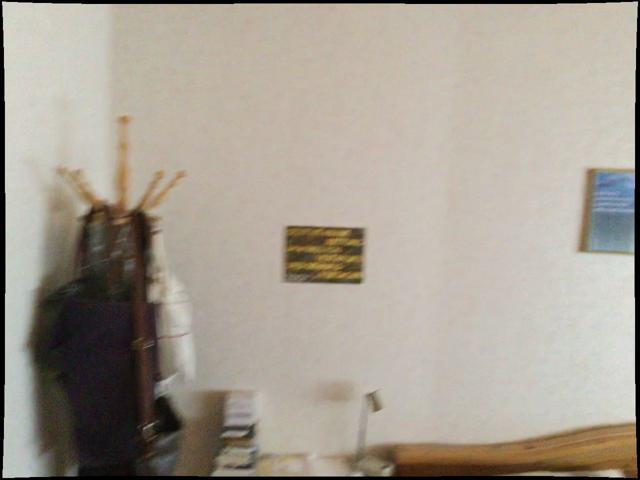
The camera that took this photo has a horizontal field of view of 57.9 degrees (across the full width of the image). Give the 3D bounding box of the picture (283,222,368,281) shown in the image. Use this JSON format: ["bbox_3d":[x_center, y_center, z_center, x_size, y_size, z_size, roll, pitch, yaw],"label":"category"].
[{"bbox_3d":[0.020,0.040,2.100,0.300,0.200,0.060,1,10,0],"label":"picture"}]

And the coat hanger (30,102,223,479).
[{"bbox_3d":[-0.549,0.360,1.790,0.440,1.501,0.340,1,10,0],"label":"coat hanger"}]

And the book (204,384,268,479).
[{"bbox_3d":[-0.290,0.701,2.040,0.190,0.300,0.230,1,10,0],"label":"book"}]
